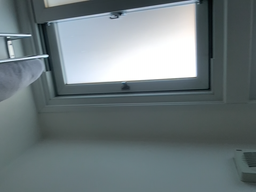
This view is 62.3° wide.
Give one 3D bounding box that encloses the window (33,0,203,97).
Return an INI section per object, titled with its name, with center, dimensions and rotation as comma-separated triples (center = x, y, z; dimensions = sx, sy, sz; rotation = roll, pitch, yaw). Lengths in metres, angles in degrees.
[window]
center = -0.070, -0.440, 1.090
dimensions = 0.850, 0.880, 0.130
rotation = -1, -165, 16
